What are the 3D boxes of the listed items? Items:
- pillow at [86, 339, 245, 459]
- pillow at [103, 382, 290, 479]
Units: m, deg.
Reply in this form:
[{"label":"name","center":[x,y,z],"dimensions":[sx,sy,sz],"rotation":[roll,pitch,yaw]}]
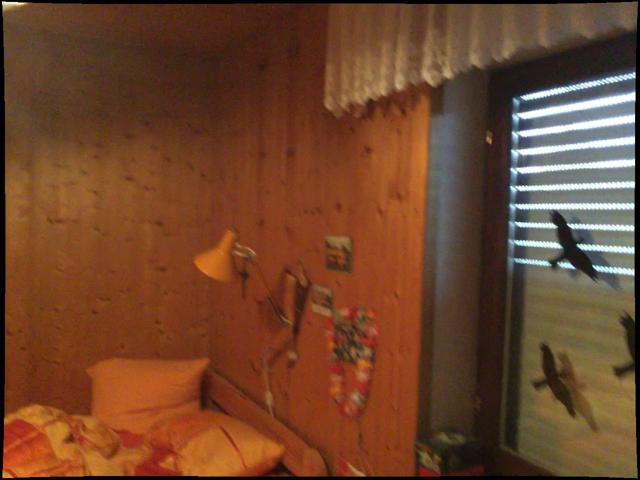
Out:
[{"label":"pillow","center":[-0.809,0.771,2.960],"dimensions":[0.649,0.320,0.640],"rotation":[-1,5,-29]},{"label":"pillow","center":[-0.569,0.851,2.530],"dimensions":[0.610,0.160,0.750],"rotation":[-1,5,-29]}]
